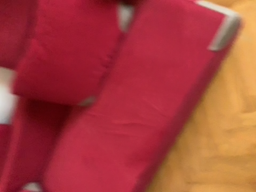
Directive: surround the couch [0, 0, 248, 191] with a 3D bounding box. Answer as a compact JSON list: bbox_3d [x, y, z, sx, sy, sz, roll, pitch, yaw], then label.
[{"bbox_3d":[-0.340,0.250,1.410,0.960,0.970,2.010,38,113,30],"label":"couch"}]
